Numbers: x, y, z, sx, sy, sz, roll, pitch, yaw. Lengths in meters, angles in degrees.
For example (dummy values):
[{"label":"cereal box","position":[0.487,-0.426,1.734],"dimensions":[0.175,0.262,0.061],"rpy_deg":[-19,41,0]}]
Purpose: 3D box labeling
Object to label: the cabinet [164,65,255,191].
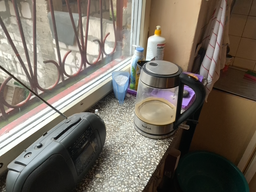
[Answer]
[{"label":"cabinet","position":[0.870,0.330,1.620],"dimensions":[0.920,0.760,0.600],"rpy_deg":[19,37,23]}]
